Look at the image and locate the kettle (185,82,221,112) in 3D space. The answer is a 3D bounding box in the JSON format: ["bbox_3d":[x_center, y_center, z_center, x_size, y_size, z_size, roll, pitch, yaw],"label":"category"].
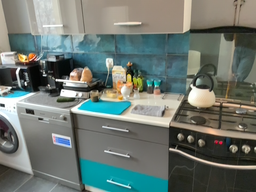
[{"bbox_3d":[0.590,0.000,1.660,0.240,0.130,0.250,6,22,22],"label":"kettle"}]
